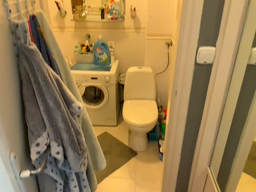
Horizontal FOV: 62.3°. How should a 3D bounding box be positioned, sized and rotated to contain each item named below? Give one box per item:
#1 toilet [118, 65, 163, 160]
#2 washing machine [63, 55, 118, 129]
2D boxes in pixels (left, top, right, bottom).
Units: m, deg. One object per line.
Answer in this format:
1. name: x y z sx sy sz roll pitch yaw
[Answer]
1. toilet: 0.110 0.150 2.210 0.360 0.740 0.640 3 28 1
2. washing machine: -0.410 -0.060 2.580 0.530 0.710 0.520 2 28 0
